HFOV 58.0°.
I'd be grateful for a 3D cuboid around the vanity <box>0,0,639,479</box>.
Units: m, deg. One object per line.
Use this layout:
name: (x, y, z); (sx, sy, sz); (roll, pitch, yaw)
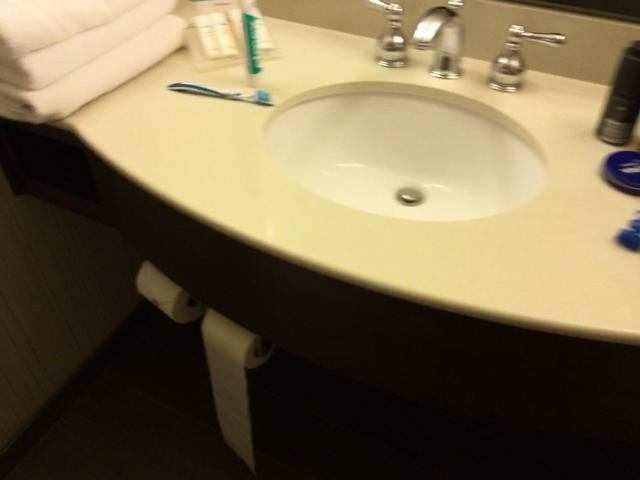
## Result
vanity: (0.120, -0.100, 0.910); (1.460, 0.410, 0.590); (18, 44, 18)
